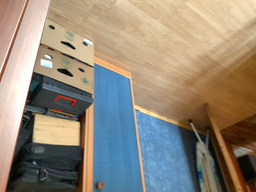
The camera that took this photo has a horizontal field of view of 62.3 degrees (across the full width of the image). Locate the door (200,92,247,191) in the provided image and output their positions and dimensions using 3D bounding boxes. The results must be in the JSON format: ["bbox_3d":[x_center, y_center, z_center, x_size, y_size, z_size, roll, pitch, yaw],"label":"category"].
[{"bbox_3d":[1.130,1.080,2.130,0.090,2.150,0.950,-17,143,15],"label":"door"}]
